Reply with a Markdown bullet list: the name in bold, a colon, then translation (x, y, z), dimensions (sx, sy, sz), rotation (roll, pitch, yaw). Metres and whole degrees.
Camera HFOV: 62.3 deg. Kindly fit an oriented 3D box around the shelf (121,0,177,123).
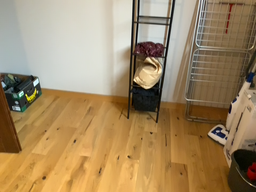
- **shelf**: translation (0.180, -0.480, 1.940), dimensions (0.400, 1.550, 0.300), rotation (7, 32, 7)
